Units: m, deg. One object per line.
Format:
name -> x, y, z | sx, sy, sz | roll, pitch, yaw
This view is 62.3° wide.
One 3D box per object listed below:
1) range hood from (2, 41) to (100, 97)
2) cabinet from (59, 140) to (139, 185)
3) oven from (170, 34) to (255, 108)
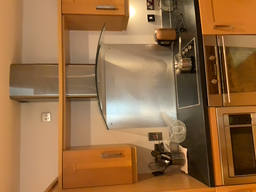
range hood -> -0.670, -0.240, 2.030 | 0.450, 0.790, 0.410 | 126, 142, -78
cabinet -> -0.260, 0.580, 1.930 | 0.350, 0.650, 0.290 | 138, 130, -80
oven -> 0.970, -0.200, 2.050 | 0.620, 0.920, 0.570 | 138, 130, -80
